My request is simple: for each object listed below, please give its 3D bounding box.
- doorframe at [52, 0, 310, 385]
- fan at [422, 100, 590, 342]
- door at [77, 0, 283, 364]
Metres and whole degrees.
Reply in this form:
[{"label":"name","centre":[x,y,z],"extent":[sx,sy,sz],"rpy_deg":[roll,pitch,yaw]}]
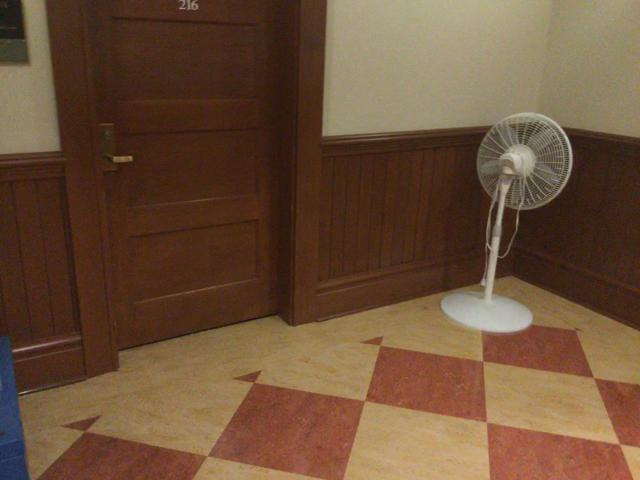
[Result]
[{"label":"doorframe","centre":[-0.530,-0.540,2.440],"extent":[0.970,2.150,0.290],"rpy_deg":[-11,21,-33]},{"label":"fan","centre":[0.950,-0.140,3.030],"extent":[0.530,1.110,0.540],"rpy_deg":[-15,23,-42]},{"label":"door","centre":[-0.550,-0.490,2.510],"extent":[0.830,2.000,0.120],"rpy_deg":[-11,21,-33]}]
